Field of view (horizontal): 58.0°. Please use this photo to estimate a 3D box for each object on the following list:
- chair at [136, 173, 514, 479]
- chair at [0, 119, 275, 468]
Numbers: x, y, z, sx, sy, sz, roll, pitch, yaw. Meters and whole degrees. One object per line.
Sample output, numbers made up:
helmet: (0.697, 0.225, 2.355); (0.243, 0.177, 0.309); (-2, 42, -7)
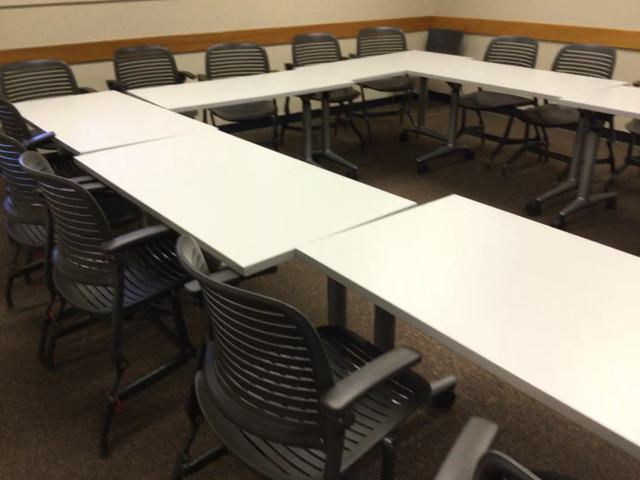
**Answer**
chair: (-0.030, 0.370, 1.370); (0.560, 0.840, 0.640); (-12, 26, -23)
chair: (-0.600, 0.120, 1.980); (0.590, 0.880, 0.630); (-19, 29, -33)
